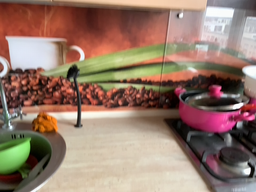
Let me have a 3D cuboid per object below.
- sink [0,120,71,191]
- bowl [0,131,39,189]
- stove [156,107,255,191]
[{"bbox_3d":[-0.480,0.270,0.720,0.520,0.150,0.490,-1,21,-11],"label":"sink"},{"bbox_3d":[-0.470,0.240,0.820,0.180,0.120,0.190,0,21,-9],"label":"bowl"},{"bbox_3d":[0.490,0.180,0.890,0.590,0.020,0.580,-1,21,-11],"label":"stove"}]
